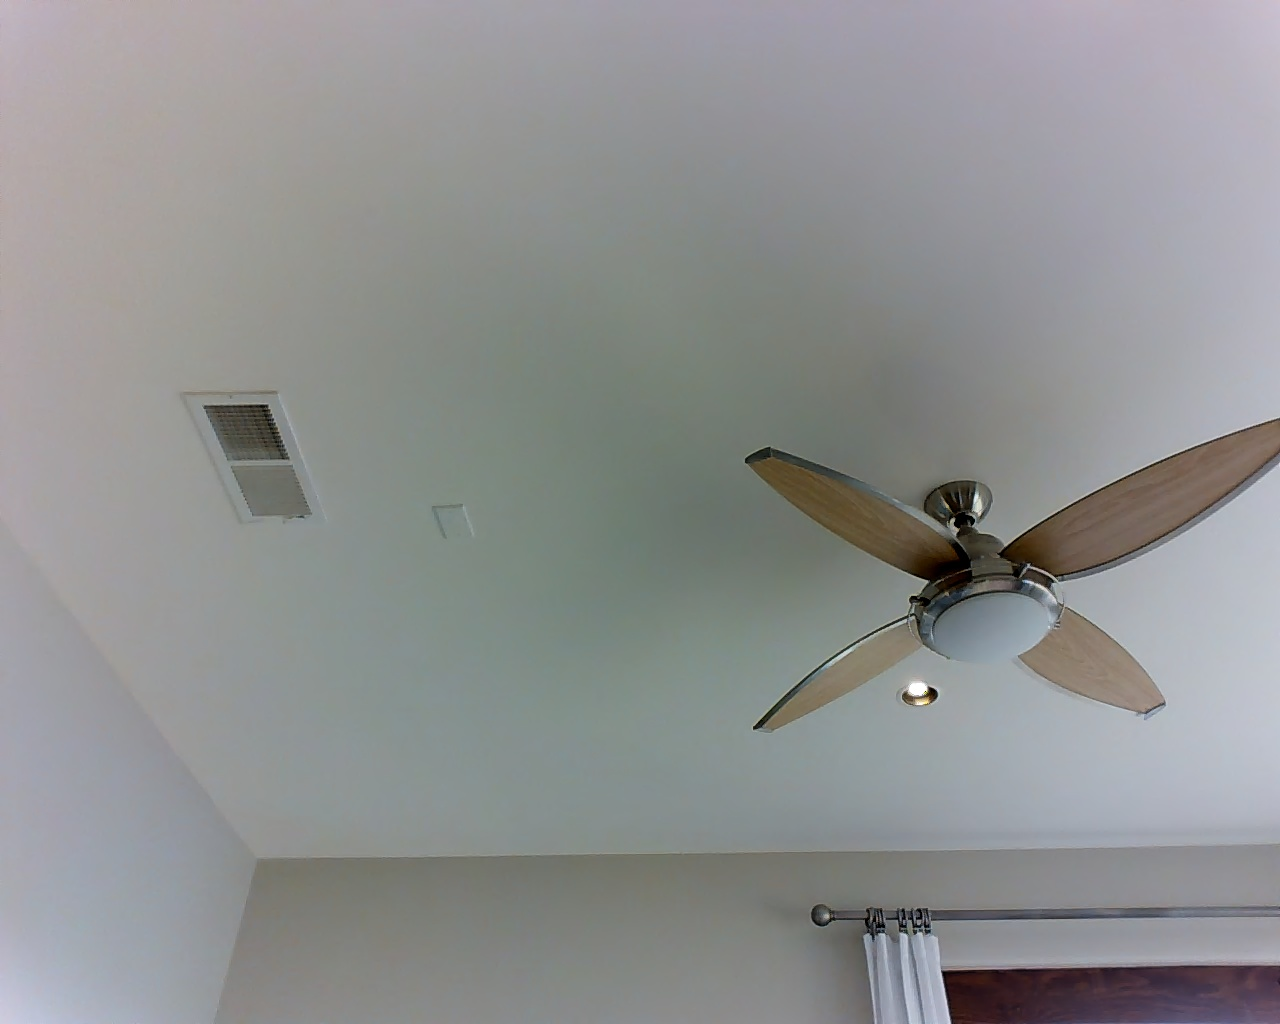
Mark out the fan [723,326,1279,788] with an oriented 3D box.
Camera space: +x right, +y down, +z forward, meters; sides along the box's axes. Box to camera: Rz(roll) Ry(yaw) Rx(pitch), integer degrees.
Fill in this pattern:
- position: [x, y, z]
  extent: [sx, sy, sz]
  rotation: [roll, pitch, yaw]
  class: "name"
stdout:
- position: [0.710, 0.160, 2.260]
  extent: [1.029, 0.360, 1.080]
  rotation: [-1, -42, 2]
  class: "fan"
